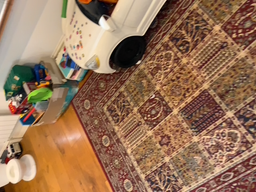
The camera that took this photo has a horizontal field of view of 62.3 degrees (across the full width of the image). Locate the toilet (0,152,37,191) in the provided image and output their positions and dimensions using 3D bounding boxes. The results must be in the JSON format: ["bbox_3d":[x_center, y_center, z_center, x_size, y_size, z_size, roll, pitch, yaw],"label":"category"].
[{"bbox_3d":[-1.210,0.770,2.170,0.400,0.350,0.280,-21,77,38],"label":"toilet"}]
